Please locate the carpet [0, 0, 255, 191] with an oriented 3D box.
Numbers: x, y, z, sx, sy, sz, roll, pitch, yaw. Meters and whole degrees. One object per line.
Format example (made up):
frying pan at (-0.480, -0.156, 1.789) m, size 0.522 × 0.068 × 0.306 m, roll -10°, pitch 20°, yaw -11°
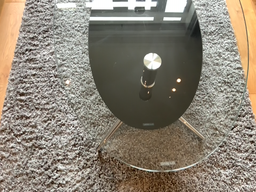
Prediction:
carpet at (-0.030, -0.130, 1.100) m, size 1.230 × 0.070 × 1.760 m, roll 0°, pitch 68°, yaw -1°
